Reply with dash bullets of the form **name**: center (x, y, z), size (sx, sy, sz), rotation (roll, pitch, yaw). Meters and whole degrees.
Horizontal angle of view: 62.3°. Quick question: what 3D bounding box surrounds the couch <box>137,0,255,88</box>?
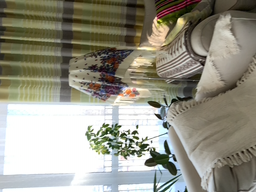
- **couch**: center (0.630, -1.260, 1.940), size (0.980, 0.890, 2.210), rotation (148, 123, -78)
